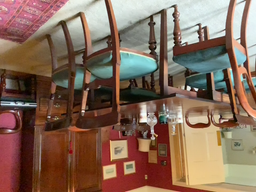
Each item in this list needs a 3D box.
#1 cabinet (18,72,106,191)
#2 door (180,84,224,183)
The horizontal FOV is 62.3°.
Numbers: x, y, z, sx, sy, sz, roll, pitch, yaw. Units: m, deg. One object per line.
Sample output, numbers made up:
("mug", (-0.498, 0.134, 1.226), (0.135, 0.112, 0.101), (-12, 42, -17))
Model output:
("cabinet", (-1.080, 0.770, 3.640), (1.270, 2.100, 0.570), (6, 168, -44))
("door", (1.500, 0.720, 4.330), (0.740, 1.960, 0.040), (-1, 171, -10))
